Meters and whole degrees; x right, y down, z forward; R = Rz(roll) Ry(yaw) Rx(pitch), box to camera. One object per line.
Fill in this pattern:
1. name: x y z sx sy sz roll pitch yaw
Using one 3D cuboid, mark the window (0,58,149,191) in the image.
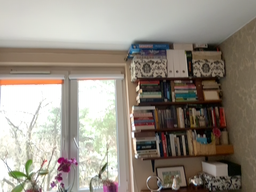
1. window: -0.650 0.360 2.200 1.690 1.530 0.080 -1 -10 -11
